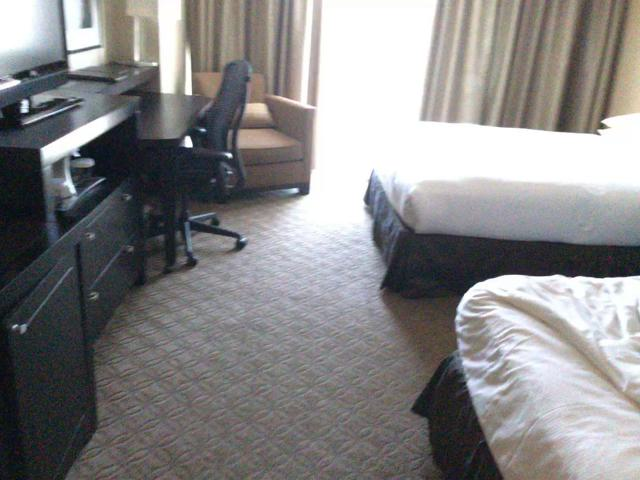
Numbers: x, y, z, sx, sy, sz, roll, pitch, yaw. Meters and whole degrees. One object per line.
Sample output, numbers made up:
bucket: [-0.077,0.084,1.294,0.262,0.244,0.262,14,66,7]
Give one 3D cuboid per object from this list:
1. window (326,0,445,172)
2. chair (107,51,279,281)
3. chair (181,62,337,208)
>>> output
window: [0.530,-1.500,4.850,0.830,1.780,0.310,3,21,-2]
chair: [-0.740,-0.460,3.310,0.750,1.100,0.720,-7,24,-25]
chair: [-0.510,-0.870,4.530,0.850,0.910,0.920,-9,25,-31]
